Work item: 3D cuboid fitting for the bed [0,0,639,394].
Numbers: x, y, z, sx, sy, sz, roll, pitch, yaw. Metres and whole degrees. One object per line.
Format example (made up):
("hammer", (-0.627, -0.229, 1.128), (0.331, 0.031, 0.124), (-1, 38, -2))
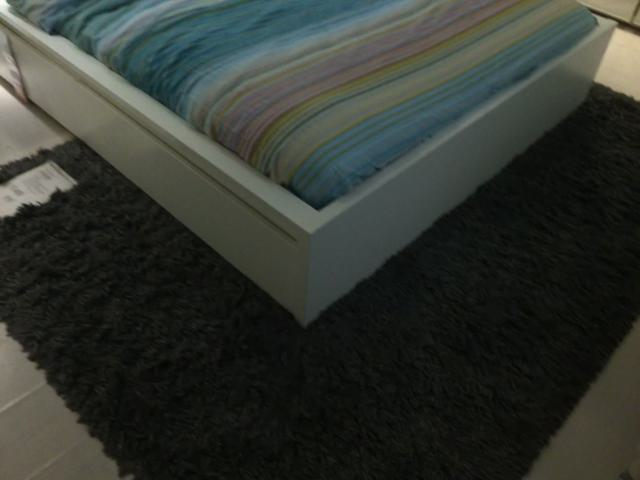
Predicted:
("bed", (-0.260, -0.970, 2.030), (1.680, 0.960, 2.210), (-36, 63, -28))
